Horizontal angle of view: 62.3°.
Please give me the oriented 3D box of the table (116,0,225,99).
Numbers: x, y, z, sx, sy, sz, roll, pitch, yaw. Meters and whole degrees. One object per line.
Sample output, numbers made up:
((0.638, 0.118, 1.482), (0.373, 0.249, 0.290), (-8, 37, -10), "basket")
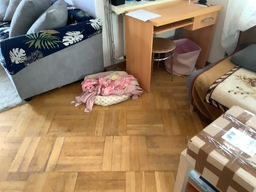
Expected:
((0.470, -0.630, 2.540), (1.020, 0.820, 0.630), (-24, 43, -29), "table")
